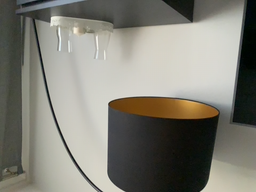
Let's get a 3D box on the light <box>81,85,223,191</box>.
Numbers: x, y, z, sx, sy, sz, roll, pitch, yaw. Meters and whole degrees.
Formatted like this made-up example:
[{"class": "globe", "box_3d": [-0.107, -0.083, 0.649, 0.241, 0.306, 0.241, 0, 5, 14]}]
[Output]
[{"class": "light", "box_3d": [0.120, 0.160, 0.930, 0.430, 0.370, 0.450, 8, -172, 34]}]
